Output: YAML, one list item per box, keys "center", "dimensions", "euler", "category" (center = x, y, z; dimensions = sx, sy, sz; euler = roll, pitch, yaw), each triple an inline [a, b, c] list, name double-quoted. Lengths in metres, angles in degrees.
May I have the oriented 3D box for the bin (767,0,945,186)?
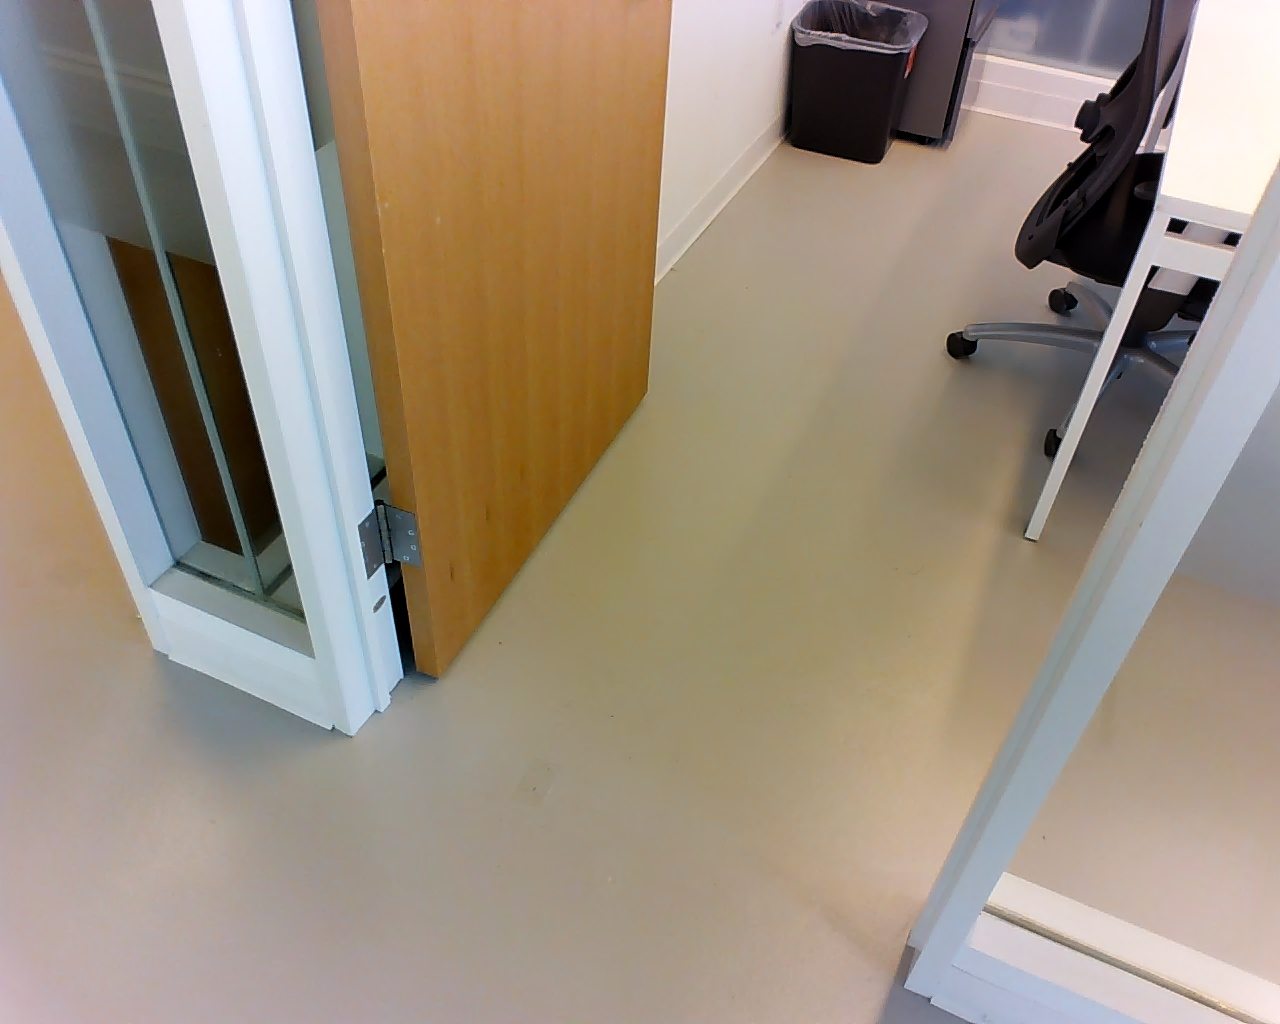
- center: [0.650, -1.300, 3.270]
  dimensions: [0.400, 0.430, 0.290]
  euler: [19, 45, 17]
  category: "bin"

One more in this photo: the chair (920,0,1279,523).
- center: [1.070, -0.650, 2.170]
  dimensions: [0.650, 1.010, 0.670]
  euler: [18, 45, 16]
  category: "chair"
